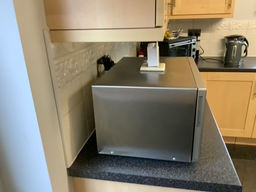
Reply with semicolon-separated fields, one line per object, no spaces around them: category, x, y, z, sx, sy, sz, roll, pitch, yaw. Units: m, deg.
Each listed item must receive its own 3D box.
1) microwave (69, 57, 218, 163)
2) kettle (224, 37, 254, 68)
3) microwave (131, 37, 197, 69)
microwave;0.080;0.010;0.970;0.490;0.280;0.490;2;22;10
kettle;1.090;-0.430;2.100;0.180;0.280;0.150;2;22;8
microwave;0.380;-0.490;2.310;0.440;0.220;0.540;-18;27;-35
